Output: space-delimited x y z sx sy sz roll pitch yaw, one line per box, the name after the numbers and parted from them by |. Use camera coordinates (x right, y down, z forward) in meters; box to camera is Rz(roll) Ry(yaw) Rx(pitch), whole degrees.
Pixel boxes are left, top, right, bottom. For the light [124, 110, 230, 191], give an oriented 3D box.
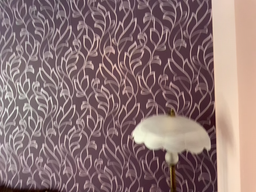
0.300 0.870 1.290 0.480 1.510 0.540 -2 1 11 | light
